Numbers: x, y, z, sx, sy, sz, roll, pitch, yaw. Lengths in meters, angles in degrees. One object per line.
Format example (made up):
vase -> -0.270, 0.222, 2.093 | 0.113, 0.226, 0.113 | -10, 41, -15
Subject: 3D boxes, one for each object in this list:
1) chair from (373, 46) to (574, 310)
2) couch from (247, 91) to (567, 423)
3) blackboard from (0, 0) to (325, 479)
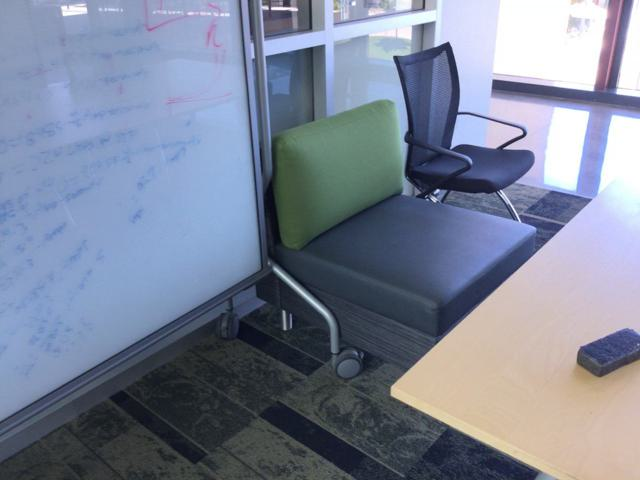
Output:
chair -> 0.620, -0.300, 2.460 | 0.600, 0.930, 0.500 | 18, 31, 39
couch -> 0.300, -0.030, 2.040 | 0.770, 0.810, 0.700 | 18, 31, 38
blackboard -> -0.490, 0.000, 1.480 | 0.190, 1.410, 1.290 | 16, 30, 36
